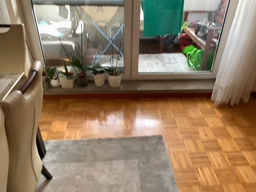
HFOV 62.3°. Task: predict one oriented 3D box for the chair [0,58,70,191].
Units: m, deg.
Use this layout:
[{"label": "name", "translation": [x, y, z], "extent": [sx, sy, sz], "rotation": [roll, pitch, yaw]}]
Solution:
[{"label": "chair", "translation": [-0.770, 0.300, 1.260], "extent": [0.610, 0.950, 0.430], "rotation": [2, 34, 1]}]
